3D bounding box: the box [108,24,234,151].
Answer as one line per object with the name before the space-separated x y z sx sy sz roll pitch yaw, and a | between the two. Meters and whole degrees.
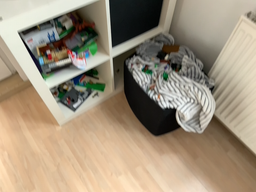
box | 0.210 -0.050 1.250 0.440 0.380 0.470 -34 66 -20
